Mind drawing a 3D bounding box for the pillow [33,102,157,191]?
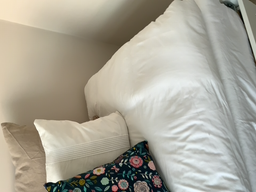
[{"bbox_3d":[-0.120,0.380,0.840,0.220,0.420,0.660,-28,64,50],"label":"pillow"}]

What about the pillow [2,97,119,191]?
[{"bbox_3d":[-0.330,0.390,1.030,0.300,0.460,0.690,-29,64,50],"label":"pillow"}]
